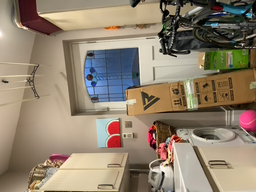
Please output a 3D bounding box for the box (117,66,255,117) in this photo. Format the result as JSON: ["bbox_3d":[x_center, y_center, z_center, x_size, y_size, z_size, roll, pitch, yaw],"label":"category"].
[{"bbox_3d":[0.630,-0.020,2.370,0.530,1.430,0.460,32,-124,-82],"label":"box"}]
